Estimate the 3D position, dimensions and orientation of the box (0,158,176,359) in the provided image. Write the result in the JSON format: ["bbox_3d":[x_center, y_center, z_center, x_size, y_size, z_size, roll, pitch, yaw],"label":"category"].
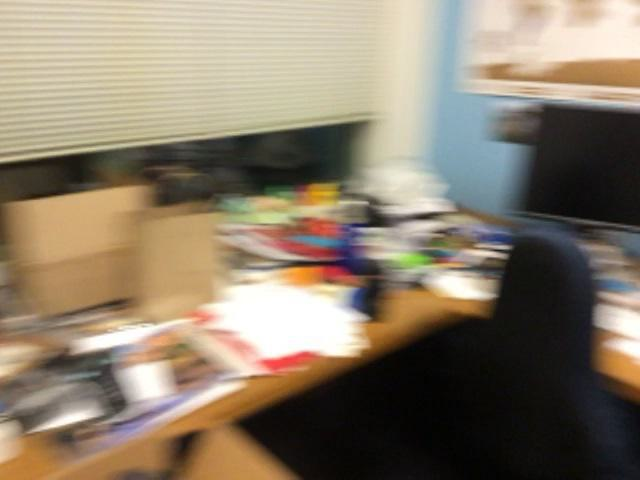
[{"bbox_3d":[-0.630,0.010,1.400,0.400,0.320,0.360,-16,24,-38],"label":"box"}]

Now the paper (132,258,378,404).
[{"bbox_3d":[-0.160,0.180,1.360,0.390,0.080,0.440,-16,24,-38],"label":"paper"}]
